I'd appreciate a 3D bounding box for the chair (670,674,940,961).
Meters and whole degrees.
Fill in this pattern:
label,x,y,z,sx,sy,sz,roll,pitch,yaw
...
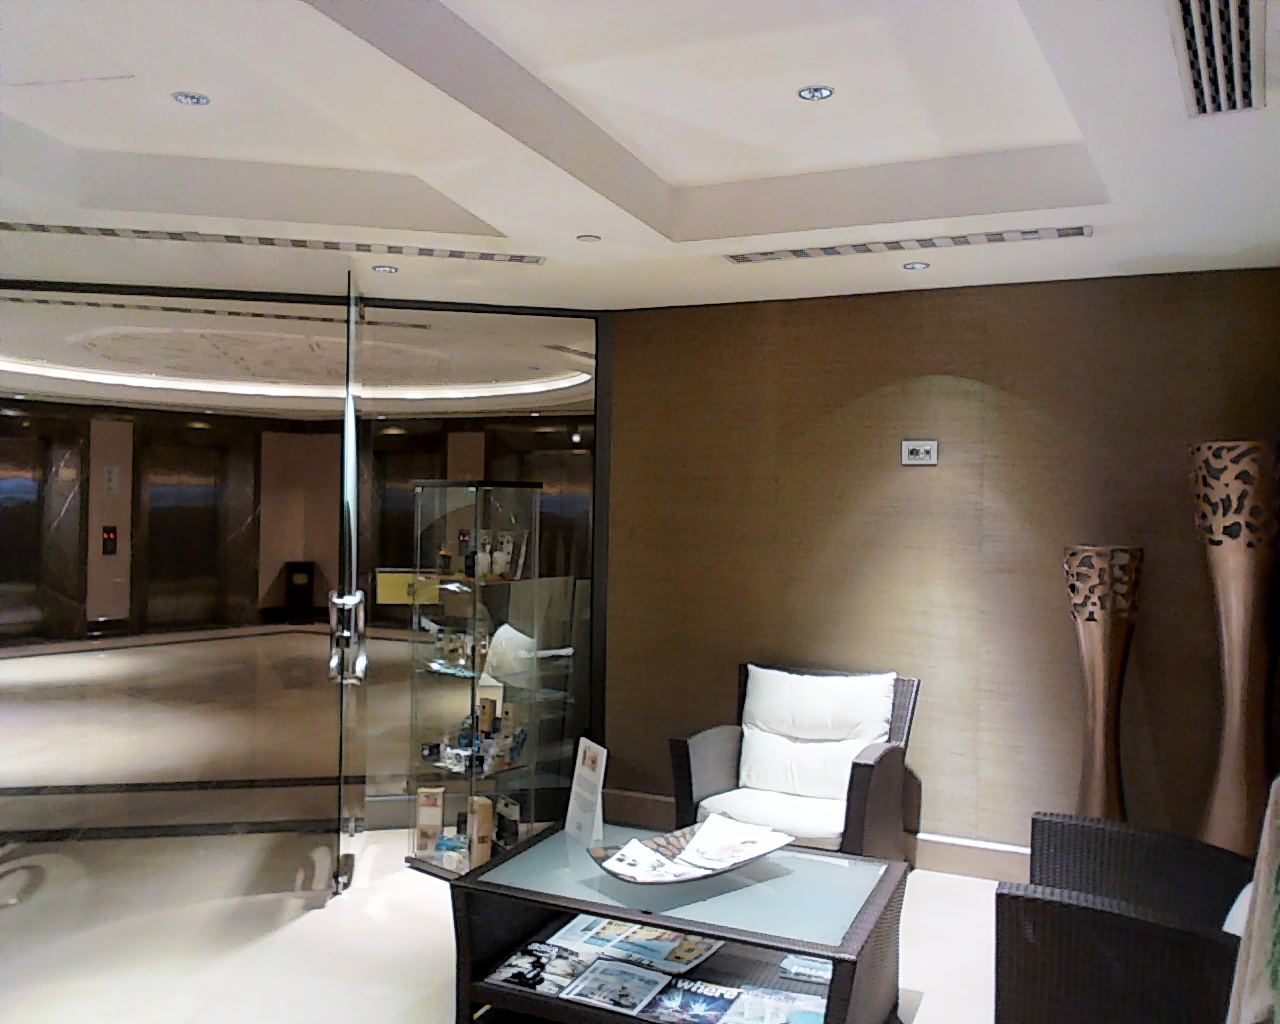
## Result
label,x,y,z,sx,sy,sz,roll,pitch,yaw
chair,0.700,1.160,4.370,0.860,0.830,0.910,0,0,25

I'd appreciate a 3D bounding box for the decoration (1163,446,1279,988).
label,x,y,z,sx,sy,sz,roll,pitch,yaw
decoration,2.210,0.690,3.890,0.490,1.820,0.500,0,0,35

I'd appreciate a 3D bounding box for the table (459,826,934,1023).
label,x,y,z,sx,sy,sz,roll,pitch,yaw
table,0.200,1.360,3.290,1.230,0.430,0.830,0,0,24

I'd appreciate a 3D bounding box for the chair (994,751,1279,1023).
label,x,y,z,sx,sy,sz,roll,pitch,yaw
chair,1.420,1.180,2.770,0.890,0.880,0.820,0,0,24

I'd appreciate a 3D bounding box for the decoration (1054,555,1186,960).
label,x,y,z,sx,sy,sz,roll,pitch,yaw
decoration,1.850,0.890,4.140,0.420,1.430,0.400,0,0,29
